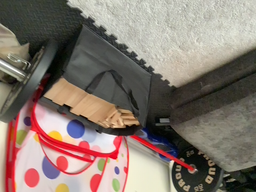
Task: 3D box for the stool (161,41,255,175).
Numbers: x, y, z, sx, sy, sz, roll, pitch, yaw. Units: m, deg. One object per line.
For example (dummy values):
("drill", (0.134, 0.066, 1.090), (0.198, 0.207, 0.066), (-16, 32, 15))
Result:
("stool", (0.700, 0.120, 1.260), (0.690, 0.310, 0.710), (-29, 129, 30))
